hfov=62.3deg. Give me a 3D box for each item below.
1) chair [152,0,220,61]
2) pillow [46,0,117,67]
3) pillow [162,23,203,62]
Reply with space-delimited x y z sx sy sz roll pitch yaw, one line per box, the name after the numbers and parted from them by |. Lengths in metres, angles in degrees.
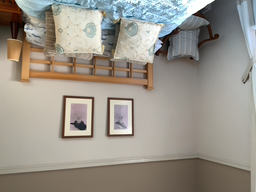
0.740 -0.910 2.750 0.690 0.730 0.480 3 174 -24 | chair
-0.400 -0.550 1.830 0.410 0.410 0.220 -33 170 -28 | pillow
0.710 -0.700 2.790 0.410 0.370 0.190 -13 173 -1 | pillow
